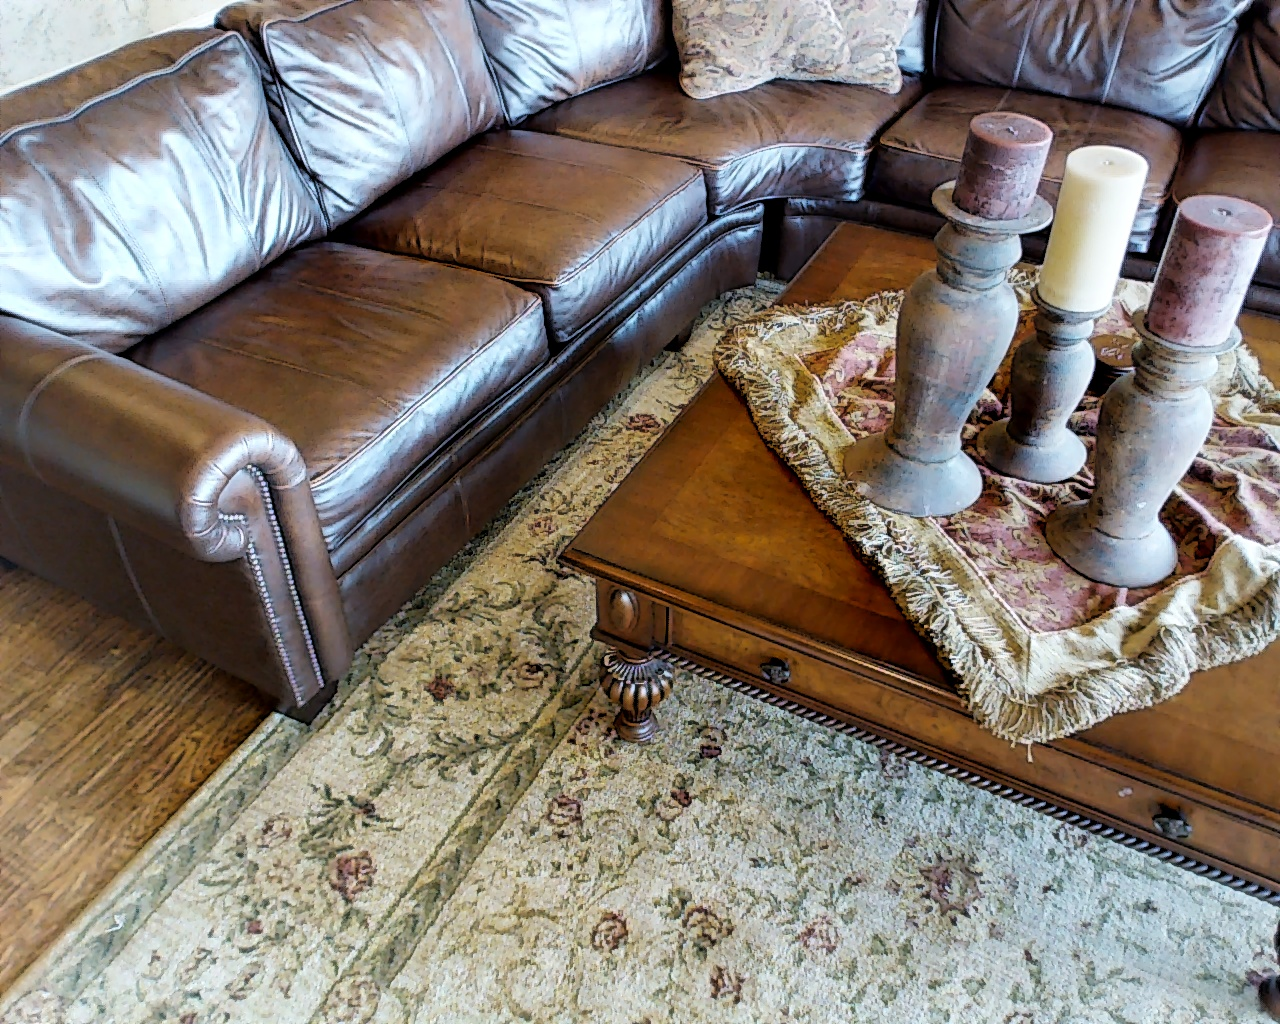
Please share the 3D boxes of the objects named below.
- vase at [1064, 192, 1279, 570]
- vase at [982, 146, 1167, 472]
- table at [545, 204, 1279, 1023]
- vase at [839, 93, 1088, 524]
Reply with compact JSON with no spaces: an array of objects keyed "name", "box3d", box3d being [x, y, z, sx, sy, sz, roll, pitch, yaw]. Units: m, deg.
[{"name":"vase","box3d":[0.690,-0.150,1.390,0.120,0.500,0.120,4,41,4]},{"name":"vase","box3d":[0.620,-0.280,1.570,0.120,0.480,0.100,4,41,4]},{"name":"table","box3d":[0.700,0.060,1.920,1.240,0.510,1.240,19,45,21]},{"name":"vase","box3d":[0.440,-0.270,1.520,0.200,0.560,0.160,19,45,21]}]
